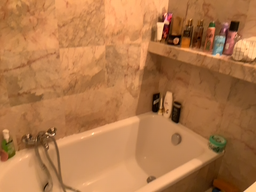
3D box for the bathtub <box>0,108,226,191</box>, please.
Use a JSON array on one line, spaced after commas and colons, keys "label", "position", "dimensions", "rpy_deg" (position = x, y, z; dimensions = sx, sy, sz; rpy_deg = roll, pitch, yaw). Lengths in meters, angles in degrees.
[{"label": "bathtub", "position": [-0.130, 0.620, 1.400], "dimensions": [1.370, 0.560, 0.710], "rpy_deg": [-14, 28, -33]}]
